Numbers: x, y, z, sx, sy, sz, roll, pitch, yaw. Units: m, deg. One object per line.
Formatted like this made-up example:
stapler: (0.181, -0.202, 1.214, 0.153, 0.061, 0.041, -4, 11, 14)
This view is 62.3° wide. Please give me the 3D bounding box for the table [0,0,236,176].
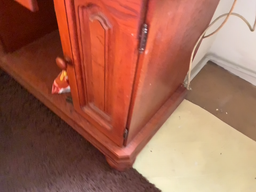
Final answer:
table: (-0.260, -0.380, 0.870, 1.130, 0.740, 0.560, 35, 57, 19)
